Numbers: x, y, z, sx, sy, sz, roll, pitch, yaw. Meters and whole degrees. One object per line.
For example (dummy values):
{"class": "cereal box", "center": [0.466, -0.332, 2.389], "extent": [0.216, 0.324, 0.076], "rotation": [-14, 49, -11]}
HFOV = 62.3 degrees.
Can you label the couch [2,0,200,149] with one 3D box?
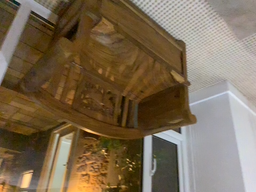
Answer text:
{"class": "couch", "center": [-0.100, -0.180, 1.520], "extent": [1.070, 0.790, 0.640], "rotation": [26, 144, -36]}
